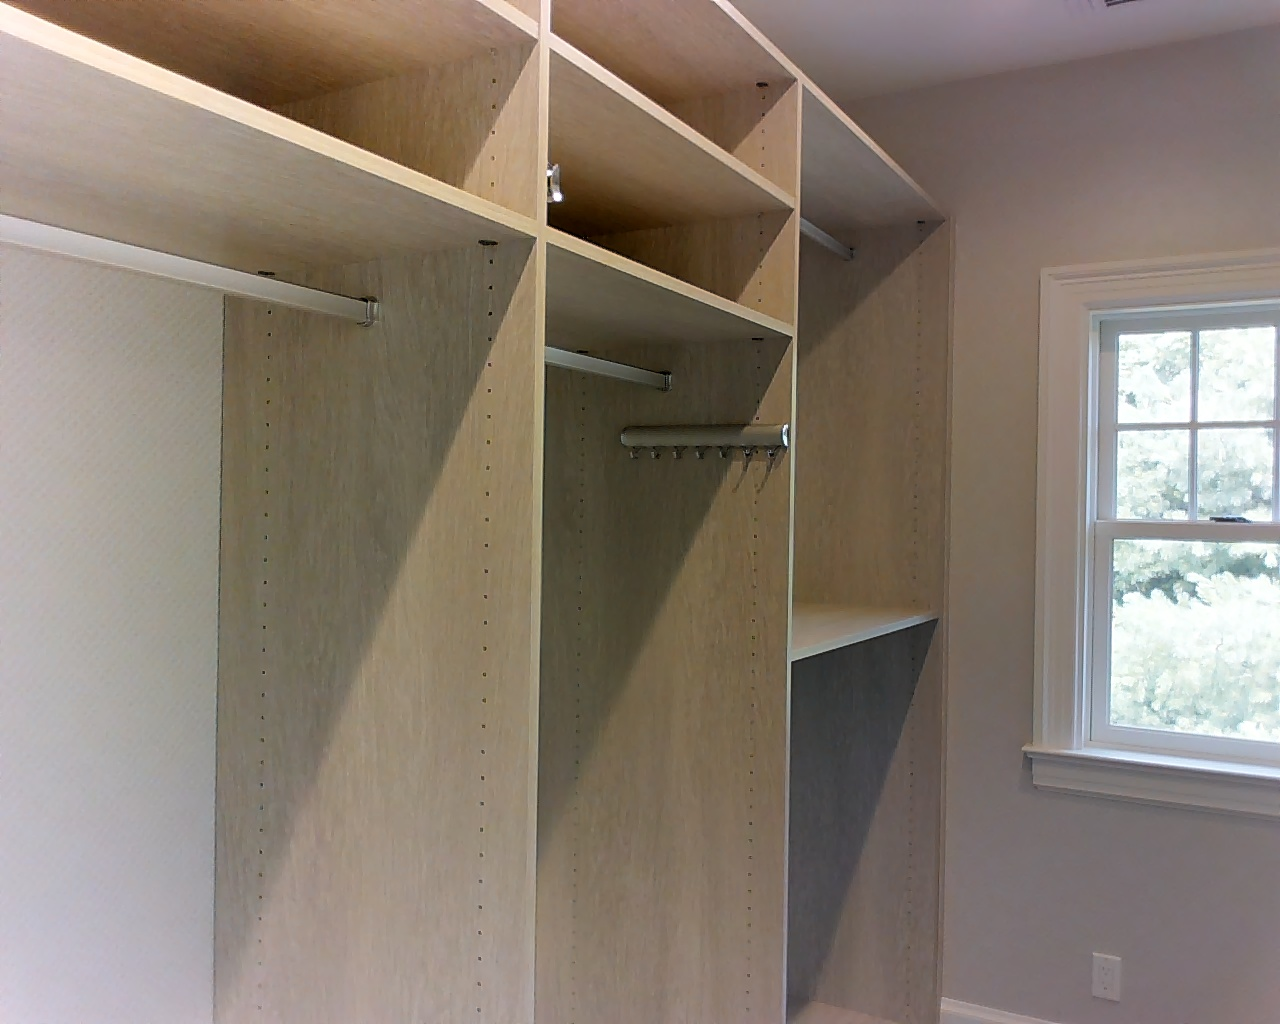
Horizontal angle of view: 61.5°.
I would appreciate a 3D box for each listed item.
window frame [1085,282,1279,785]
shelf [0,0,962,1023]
[{"bbox_3d":[1.520,0.050,2.710,0.700,1.220,0.150,1,0,30],"label":"window frame"},{"bbox_3d":[-0.490,0.220,1.250,0.610,2.650,4.440,1,0,30],"label":"shelf"}]
